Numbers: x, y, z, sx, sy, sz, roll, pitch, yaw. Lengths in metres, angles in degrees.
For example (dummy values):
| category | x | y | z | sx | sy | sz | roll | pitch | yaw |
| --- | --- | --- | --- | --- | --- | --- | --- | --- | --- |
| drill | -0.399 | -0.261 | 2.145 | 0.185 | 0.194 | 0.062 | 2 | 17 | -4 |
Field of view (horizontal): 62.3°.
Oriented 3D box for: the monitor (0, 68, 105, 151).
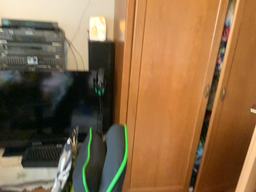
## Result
| category | x | y | z | sx | sy | sz | roll | pitch | yaw |
| --- | --- | --- | --- | --- | --- | --- | --- | --- | --- |
| monitor | -0.670 | 0.110 | 1.550 | 0.970 | 0.610 | 0.070 | 0 | 21 | -14 |
